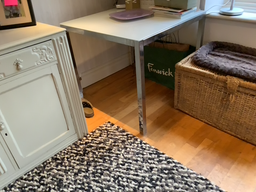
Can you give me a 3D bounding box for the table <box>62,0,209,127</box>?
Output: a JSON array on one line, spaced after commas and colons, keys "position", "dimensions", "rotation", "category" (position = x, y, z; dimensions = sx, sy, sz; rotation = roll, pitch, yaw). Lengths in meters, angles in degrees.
[{"position": [0.080, -0.410, 1.970], "dimensions": [0.840, 0.760, 0.890], "rotation": [26, 44, 37], "category": "table"}]
